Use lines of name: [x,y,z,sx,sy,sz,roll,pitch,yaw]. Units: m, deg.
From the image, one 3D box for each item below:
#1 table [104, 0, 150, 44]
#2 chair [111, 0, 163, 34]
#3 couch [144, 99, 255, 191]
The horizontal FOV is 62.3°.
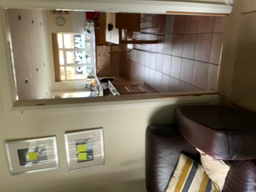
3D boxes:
table: [-0.060,-1.650,4.500,1.000,0.740,1.060,-139,48,-71]
chair: [0.130,-1.360,3.700,0.510,0.780,0.470,-140,49,-71]
couch: [0.680,0.670,1.830,0.950,0.820,1.100,-149,57,-73]
